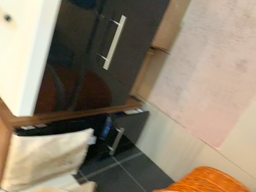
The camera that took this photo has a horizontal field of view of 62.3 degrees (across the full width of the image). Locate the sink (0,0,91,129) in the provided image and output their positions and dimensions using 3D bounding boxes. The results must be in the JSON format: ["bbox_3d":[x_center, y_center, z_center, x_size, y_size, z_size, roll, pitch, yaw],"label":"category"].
[{"bbox_3d":[-0.320,-0.270,0.700,0.370,0.140,0.640,35,114,32],"label":"sink"}]

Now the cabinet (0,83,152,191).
[{"bbox_3d":[-0.290,0.150,1.180,0.310,0.880,0.340,35,114,32],"label":"cabinet"}]
